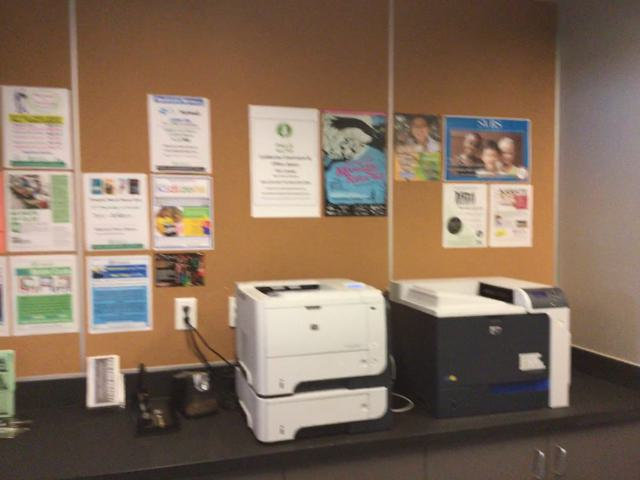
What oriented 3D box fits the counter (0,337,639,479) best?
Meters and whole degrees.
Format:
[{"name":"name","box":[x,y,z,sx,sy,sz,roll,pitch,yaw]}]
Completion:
[{"name":"counter","box":[-0.030,0.570,1.990,2.540,0.240,0.640,-1,0,-14]}]

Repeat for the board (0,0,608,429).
[{"name":"board","box":[-0.280,-0.210,2.120,2.870,1.580,0.290,-1,0,-14]}]
